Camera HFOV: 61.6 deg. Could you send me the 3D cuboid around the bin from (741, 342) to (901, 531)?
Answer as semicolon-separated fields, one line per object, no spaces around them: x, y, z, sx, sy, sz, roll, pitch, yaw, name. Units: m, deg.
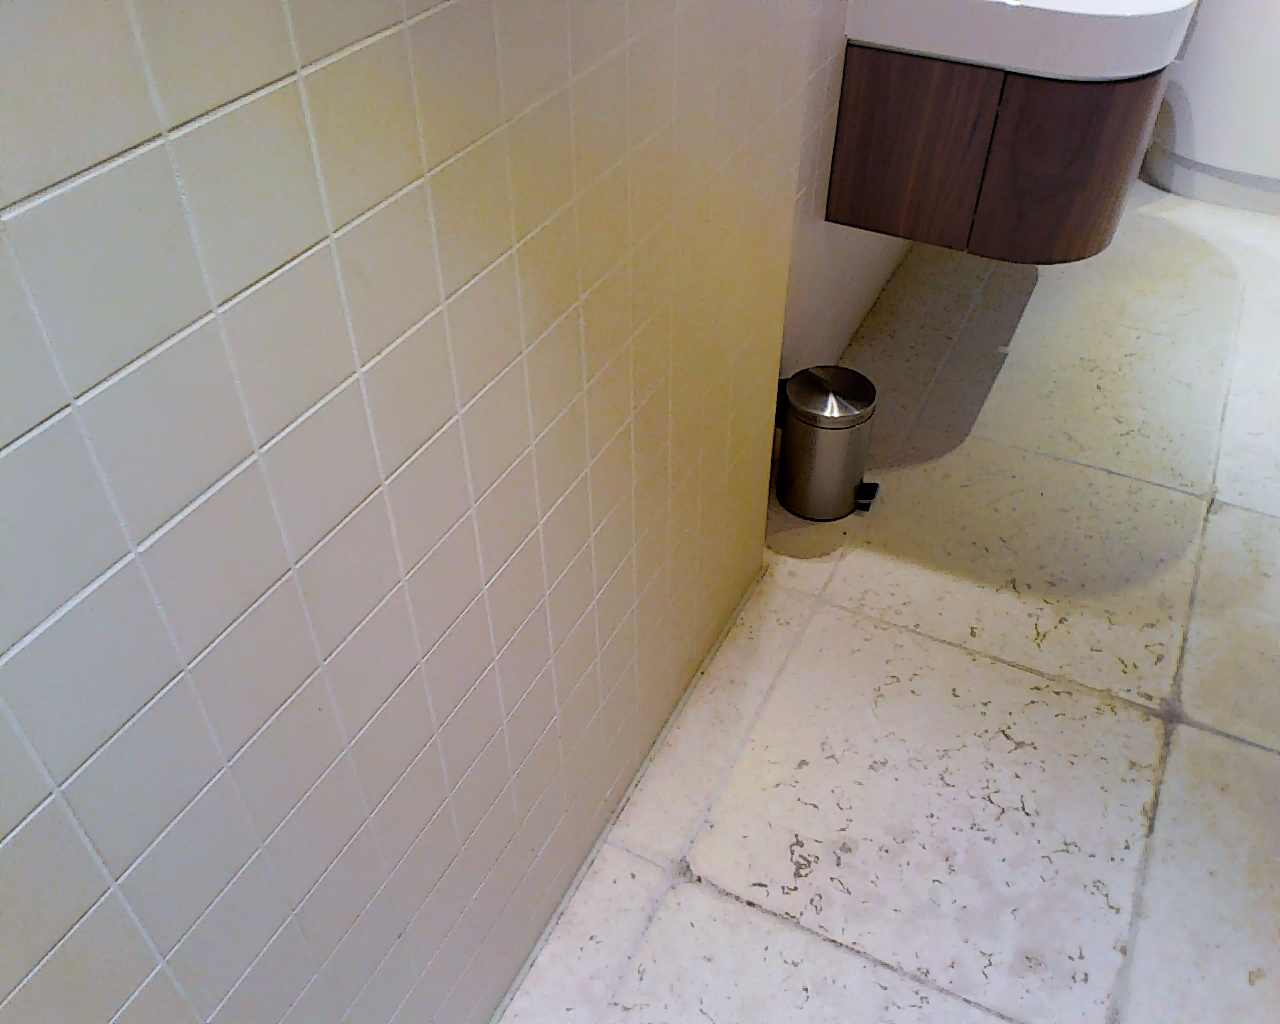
0.350;-0.150;2.100;0.230;0.250;0.200;18;45;20;bin
